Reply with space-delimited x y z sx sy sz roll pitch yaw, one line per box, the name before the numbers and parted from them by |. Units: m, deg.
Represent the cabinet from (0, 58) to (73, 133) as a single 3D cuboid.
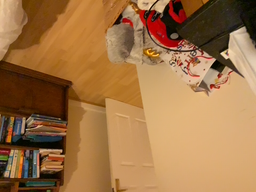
cabinet | -0.870 0.020 1.850 0.720 0.450 0.270 18 142 -39
